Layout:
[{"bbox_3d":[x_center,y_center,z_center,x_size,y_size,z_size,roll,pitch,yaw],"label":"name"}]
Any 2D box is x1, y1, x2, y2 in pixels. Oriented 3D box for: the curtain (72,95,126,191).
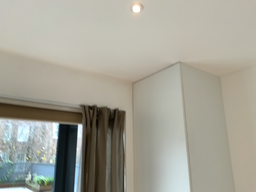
[{"bbox_3d":[-0.220,1.080,1.580,0.420,2.170,0.100,10,-19,-33],"label":"curtain"}]
